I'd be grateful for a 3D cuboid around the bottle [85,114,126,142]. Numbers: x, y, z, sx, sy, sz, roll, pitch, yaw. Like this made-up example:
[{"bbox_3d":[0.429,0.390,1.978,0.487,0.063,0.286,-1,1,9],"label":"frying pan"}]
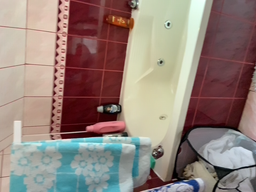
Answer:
[{"bbox_3d":[-0.190,0.260,1.740,0.180,0.270,0.140,-55,44,45],"label":"bottle"}]
